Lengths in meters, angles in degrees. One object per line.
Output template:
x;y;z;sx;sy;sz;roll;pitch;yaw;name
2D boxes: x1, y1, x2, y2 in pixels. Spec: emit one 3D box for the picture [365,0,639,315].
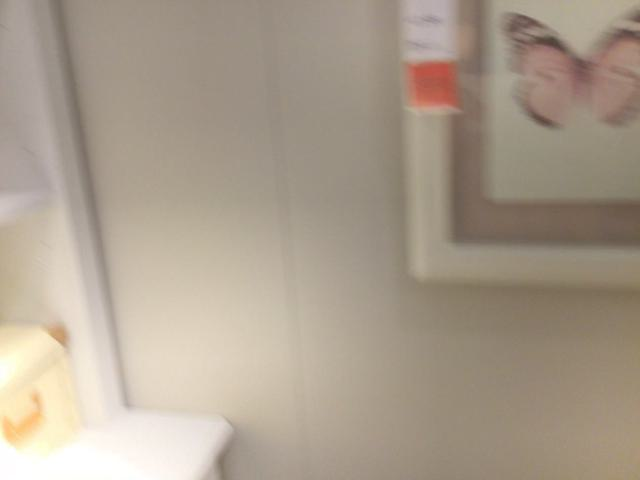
0.310;-0.170;0.600;0.510;0.500;0.060;-1;12;16;picture
